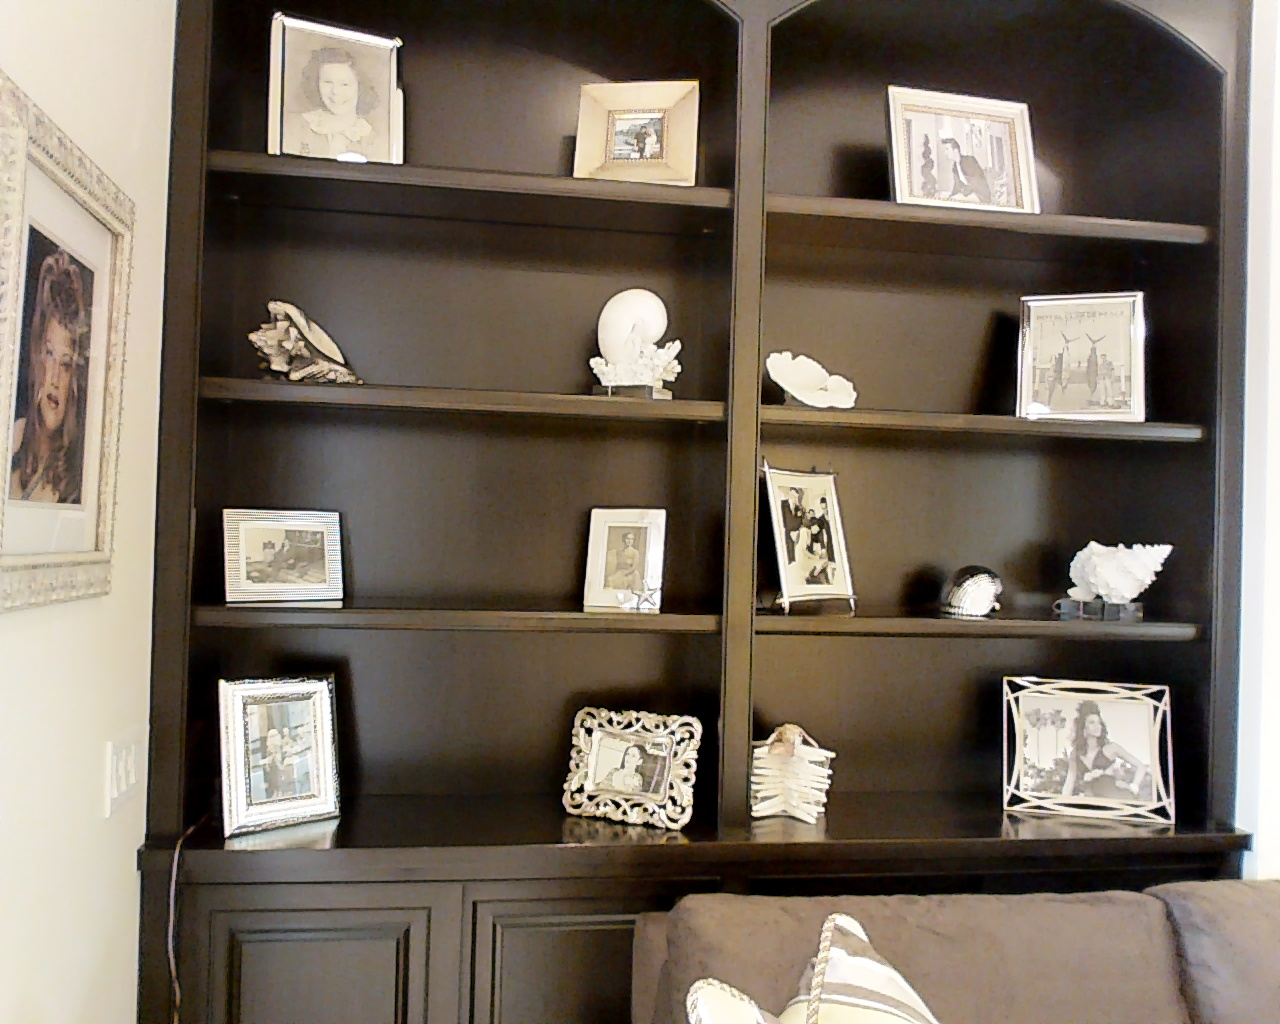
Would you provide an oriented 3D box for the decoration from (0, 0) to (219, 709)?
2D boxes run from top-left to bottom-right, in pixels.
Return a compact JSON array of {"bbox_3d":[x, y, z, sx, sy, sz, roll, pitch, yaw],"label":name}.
[{"bbox_3d":[-0.670,-0.160,1.360,0.070,0.710,0.620,2,-1,-6],"label":"decoration"}]
